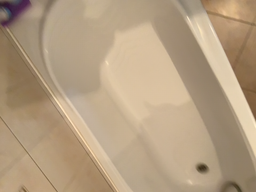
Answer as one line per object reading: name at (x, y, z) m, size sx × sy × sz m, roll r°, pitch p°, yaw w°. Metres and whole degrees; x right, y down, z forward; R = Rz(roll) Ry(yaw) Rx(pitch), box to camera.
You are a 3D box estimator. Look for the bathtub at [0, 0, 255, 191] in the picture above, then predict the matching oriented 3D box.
bathtub at (0.140, 0.030, 1.080) m, size 0.670 × 0.500 × 1.600 m, roll -28°, pitch 103°, yaw 19°
